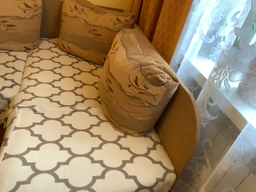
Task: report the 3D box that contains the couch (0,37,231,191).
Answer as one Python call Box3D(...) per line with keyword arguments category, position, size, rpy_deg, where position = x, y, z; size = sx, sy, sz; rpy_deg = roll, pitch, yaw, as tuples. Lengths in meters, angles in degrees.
Box3D(category="couch", position=(-0.190, 0.220, 1.040), size=(0.830, 0.710, 0.630), rpy_deg=(1, 37, -19))

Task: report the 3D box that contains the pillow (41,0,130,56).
Box3D(category="pillow", position=(-0.310, -0.490, 1.540), size=(0.550, 0.340, 0.200), rpy_deg=(7, 45, 35))

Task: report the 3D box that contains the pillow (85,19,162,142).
Box3D(category="pillow", position=(-0.080, -0.120, 1.130), size=(0.210, 0.340, 0.640), rpy_deg=(2, 37, -18))
